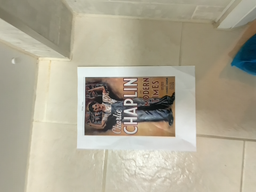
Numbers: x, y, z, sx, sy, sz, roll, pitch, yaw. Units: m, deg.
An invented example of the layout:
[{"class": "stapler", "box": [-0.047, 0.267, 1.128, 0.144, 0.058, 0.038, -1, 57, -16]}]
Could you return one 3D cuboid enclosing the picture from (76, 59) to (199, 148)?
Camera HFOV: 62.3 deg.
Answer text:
[{"class": "picture", "box": [0.020, 0.020, 0.530, 0.300, 0.010, 0.210, -2, 88, 4]}]
